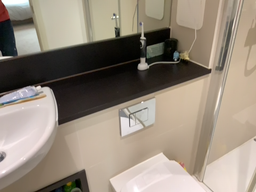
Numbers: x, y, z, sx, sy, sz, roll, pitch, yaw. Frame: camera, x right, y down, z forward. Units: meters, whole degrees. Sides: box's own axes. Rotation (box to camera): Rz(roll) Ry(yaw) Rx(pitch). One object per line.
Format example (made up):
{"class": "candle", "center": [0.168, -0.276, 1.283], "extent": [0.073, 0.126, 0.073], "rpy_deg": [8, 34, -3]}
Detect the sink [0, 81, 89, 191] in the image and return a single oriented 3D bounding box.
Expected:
{"class": "sink", "center": [-0.500, 0.200, 0.790], "extent": [0.540, 0.220, 0.470], "rpy_deg": [-18, 35, -25]}
